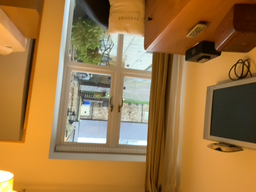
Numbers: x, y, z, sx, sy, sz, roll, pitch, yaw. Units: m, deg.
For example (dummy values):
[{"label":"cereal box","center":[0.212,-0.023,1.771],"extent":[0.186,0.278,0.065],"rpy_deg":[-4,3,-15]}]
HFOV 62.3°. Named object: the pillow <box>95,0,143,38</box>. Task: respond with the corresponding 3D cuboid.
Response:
[{"label":"pillow","center":[-0.090,-0.810,2.070],"extent":[0.390,0.370,0.100],"rpy_deg":[16,-155,5]}]
